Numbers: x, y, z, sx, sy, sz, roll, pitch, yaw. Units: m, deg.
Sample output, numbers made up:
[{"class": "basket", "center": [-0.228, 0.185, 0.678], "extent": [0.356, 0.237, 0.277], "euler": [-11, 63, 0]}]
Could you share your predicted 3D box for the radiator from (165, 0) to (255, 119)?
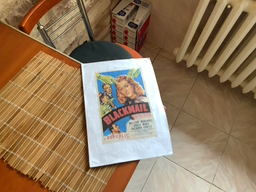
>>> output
[{"class": "radiator", "center": [0.740, -0.160, 1.210], "extent": [0.940, 0.670, 0.160], "euler": [29, 65, 10]}]
